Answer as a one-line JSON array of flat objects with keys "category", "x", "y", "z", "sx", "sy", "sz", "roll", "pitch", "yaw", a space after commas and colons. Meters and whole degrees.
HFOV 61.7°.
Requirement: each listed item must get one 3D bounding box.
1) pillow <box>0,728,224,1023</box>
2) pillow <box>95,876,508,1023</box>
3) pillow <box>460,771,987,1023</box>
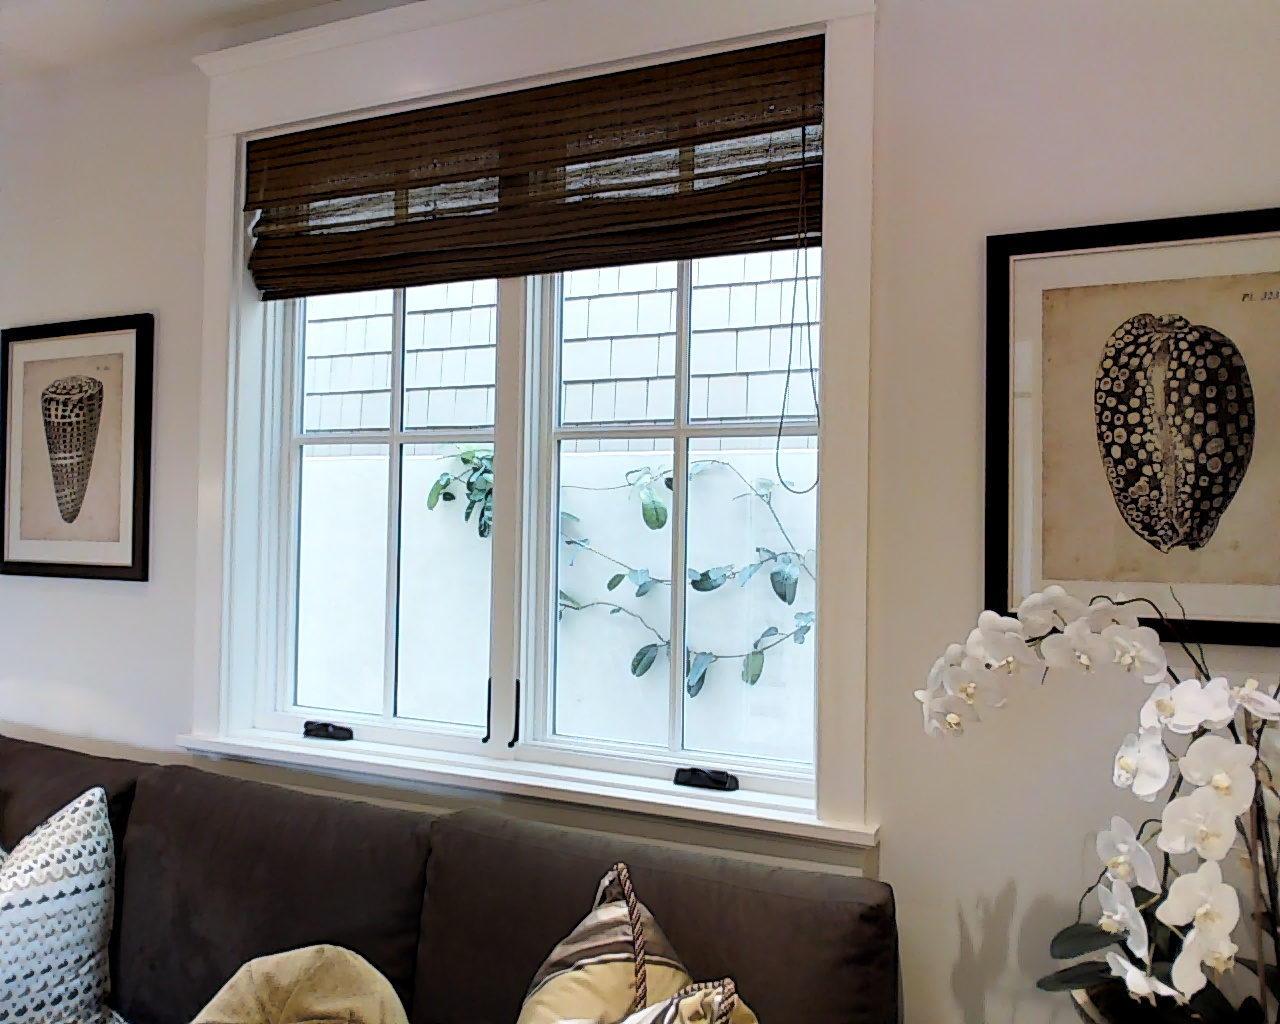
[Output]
[{"category": "pillow", "x": -1.259, "y": 0.800, "z": 2.150, "sx": 0.600, "sy": 0.550, "sz": 0.370, "roll": 18, "pitch": 8, "yaw": -10}, {"category": "pillow", "x": -0.530, "y": 0.870, "z": 1.720, "sx": 0.470, "sy": 0.370, "sz": 0.420, "roll": 1, "pitch": 0, "yaw": 26}, {"category": "pillow", "x": 0.030, "y": 0.790, "z": 1.440, "sx": 0.440, "sy": 0.650, "sz": 0.590, "roll": 11, "pitch": 5, "yaw": -18}]
